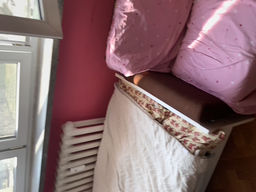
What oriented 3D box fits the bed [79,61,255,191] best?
[{"bbox_3d":[0.090,0.750,1.760,1.000,0.480,1.810,37,122,44],"label":"bed"}]
